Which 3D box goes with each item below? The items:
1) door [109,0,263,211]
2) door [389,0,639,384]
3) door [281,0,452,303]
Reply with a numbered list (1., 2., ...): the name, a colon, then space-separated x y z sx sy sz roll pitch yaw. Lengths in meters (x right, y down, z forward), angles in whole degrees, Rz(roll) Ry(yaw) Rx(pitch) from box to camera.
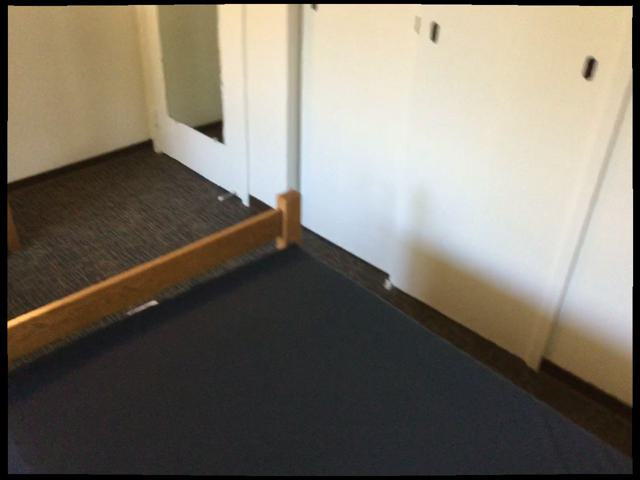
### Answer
1. door: -0.659 -1.192 2.600 0.200 1.973 0.929 -27 43 -37
2. door: 0.559 -0.491 1.620 0.130 1.993 0.600 -27 43 -37
3. door: 0.130 -0.741 1.990 0.150 2.003 0.630 -27 43 -37
